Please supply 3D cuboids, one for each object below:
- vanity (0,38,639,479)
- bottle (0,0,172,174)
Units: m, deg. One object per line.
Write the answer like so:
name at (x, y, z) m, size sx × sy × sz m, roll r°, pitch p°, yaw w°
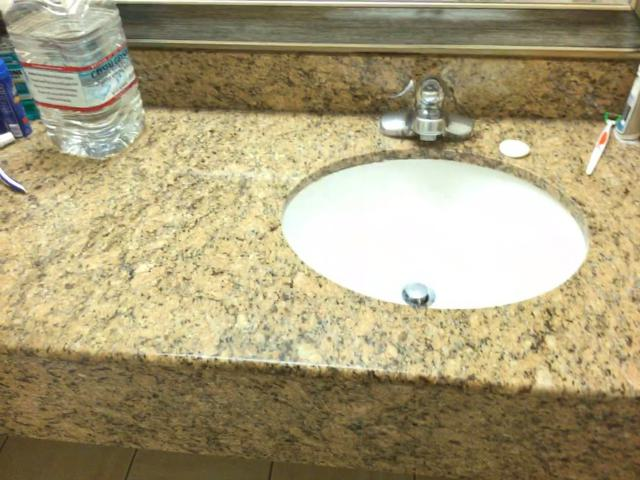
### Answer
vanity at (-0.210, 0.010, 0.870) m, size 1.490 × 0.400 × 0.600 m, roll 3°, pitch 39°, yaw 5°
bottle at (-0.360, -0.270, 0.920) m, size 0.140 × 0.230 × 0.240 m, roll 3°, pitch 39°, yaw 5°
